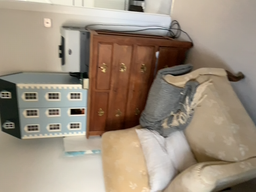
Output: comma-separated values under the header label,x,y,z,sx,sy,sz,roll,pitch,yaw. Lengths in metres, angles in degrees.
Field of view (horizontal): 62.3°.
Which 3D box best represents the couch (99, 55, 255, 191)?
label,x,y,z,sx,sy,sz,roll,pitch,yaw
couch,0.340,0.350,1.490,0.950,0.910,0.750,109,155,-48
